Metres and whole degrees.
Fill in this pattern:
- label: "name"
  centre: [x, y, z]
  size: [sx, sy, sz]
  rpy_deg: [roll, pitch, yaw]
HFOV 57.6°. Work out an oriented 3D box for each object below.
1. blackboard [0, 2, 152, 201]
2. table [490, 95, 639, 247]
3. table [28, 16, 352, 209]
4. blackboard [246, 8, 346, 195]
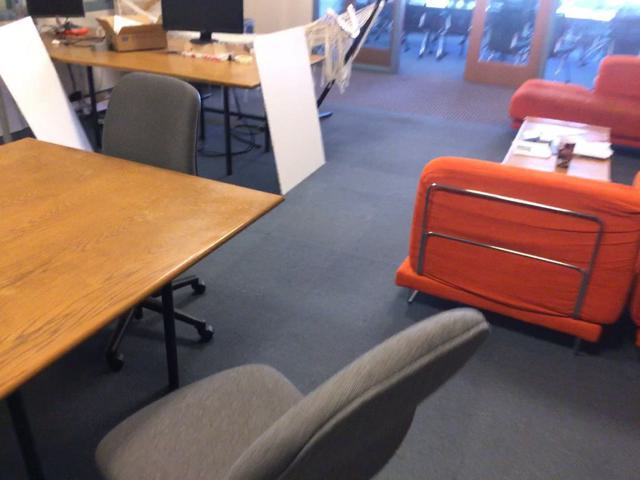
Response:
- label: "blackboard"
  centre: [-1.590, -0.890, 3.680]
  size: [0.640, 1.020, 0.840]
  rpy_deg: [0, 29, 4]
- label: "table"
  centre: [1.660, -0.520, 3.750]
  size: [0.760, 0.420, 1.340]
  rpy_deg: [13, 33, 25]
- label: "table"
  centre: [-0.870, -1.060, 4.320]
  size: [1.810, 0.890, 1.330]
  rpy_deg: [13, 33, 25]
- label: "blackboard"
  centre: [-0.160, -0.940, 3.910]
  size: [0.200, 1.030, 0.820]
  rpy_deg: [21, 35, 20]
